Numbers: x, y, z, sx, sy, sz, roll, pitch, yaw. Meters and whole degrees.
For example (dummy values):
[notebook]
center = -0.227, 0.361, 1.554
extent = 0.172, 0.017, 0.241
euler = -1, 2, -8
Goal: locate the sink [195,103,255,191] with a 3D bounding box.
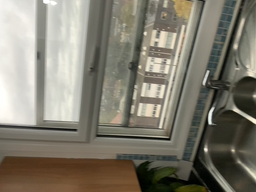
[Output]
[sink]
center = 0.590, 0.310, 1.060
extent = 0.500, 0.200, 0.380
euler = -116, 33, -68

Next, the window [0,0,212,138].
[window]
center = -0.160, -0.210, 1.230
extent = 0.120, 1.130, 0.890
euler = -117, 35, -69
